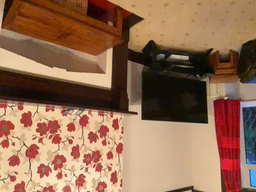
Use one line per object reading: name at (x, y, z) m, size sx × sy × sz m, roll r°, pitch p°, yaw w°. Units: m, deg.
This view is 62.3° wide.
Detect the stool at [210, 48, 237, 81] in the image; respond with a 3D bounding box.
stool at (1.650, -0.530, 3.690) m, size 0.390 × 0.440 × 0.400 m, roll -3°, pitch 169°, yaw 23°

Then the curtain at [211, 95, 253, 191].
curtain at (1.930, 0.900, 3.950) m, size 0.410 × 1.720 × 0.730 m, roll -8°, pitch 167°, yaw 42°

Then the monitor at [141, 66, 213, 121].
monitor at (0.820, -0.010, 3.400) m, size 1.370 × 0.750 × 0.060 m, roll 6°, pitch 169°, yaw -26°
